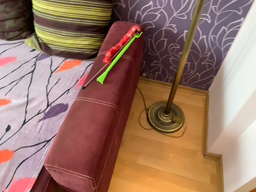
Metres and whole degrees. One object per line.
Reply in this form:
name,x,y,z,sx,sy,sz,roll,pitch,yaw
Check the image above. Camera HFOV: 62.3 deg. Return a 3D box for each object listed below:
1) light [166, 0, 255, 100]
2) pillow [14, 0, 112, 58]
light,0.490,-0.490,1.110,0.330,1.380,0.160,9,52,5
pillow,-0.400,-0.550,1.320,0.500,0.410,0.220,24,50,-8
